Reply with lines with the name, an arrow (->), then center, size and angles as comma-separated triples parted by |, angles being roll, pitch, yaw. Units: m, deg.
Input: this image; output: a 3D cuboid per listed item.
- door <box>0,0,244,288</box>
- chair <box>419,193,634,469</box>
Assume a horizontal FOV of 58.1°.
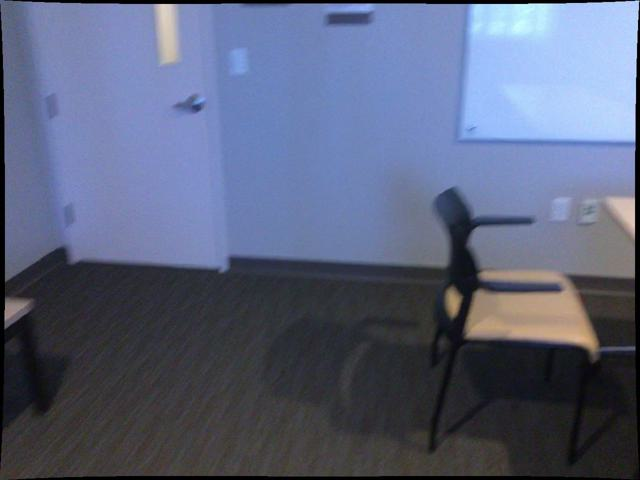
door -> -1.048, -0.901, 2.940 | 1.138, 2.373, 0.240 | 3, 23, 9
chair -> 0.649, 0.290, 2.030 | 0.549, 0.761, 0.520 | 3, 23, 9
